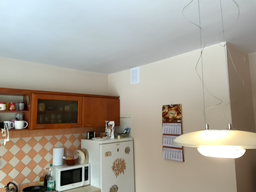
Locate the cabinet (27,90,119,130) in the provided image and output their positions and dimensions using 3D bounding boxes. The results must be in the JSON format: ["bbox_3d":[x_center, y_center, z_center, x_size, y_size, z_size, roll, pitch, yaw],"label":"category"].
[{"bbox_3d":[-0.740,0.220,3.160,1.340,0.490,0.280,4,-8,-42],"label":"cabinet"}]

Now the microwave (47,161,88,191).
[{"bbox_3d":[-0.830,1.090,2.920,0.420,0.260,0.380,4,-8,-40],"label":"microwave"}]

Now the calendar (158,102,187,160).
[{"bbox_3d":[0.560,0.440,2.710,0.060,0.690,0.370,4,-8,-39],"label":"calendar"}]
